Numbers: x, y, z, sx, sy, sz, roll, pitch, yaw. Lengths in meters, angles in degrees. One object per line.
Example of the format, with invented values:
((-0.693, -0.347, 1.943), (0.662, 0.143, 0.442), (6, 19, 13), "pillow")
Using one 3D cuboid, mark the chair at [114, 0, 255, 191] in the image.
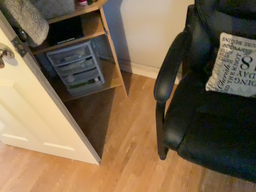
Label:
((0.480, -0.010, 0.950), (0.660, 0.880, 0.710), (17, 57, 23), "chair")
